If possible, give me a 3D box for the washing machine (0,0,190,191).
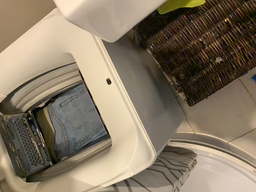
[{"bbox_3d":[-0.110,0.060,0.880,0.520,0.840,0.420,-29,81,18],"label":"washing machine"}]
